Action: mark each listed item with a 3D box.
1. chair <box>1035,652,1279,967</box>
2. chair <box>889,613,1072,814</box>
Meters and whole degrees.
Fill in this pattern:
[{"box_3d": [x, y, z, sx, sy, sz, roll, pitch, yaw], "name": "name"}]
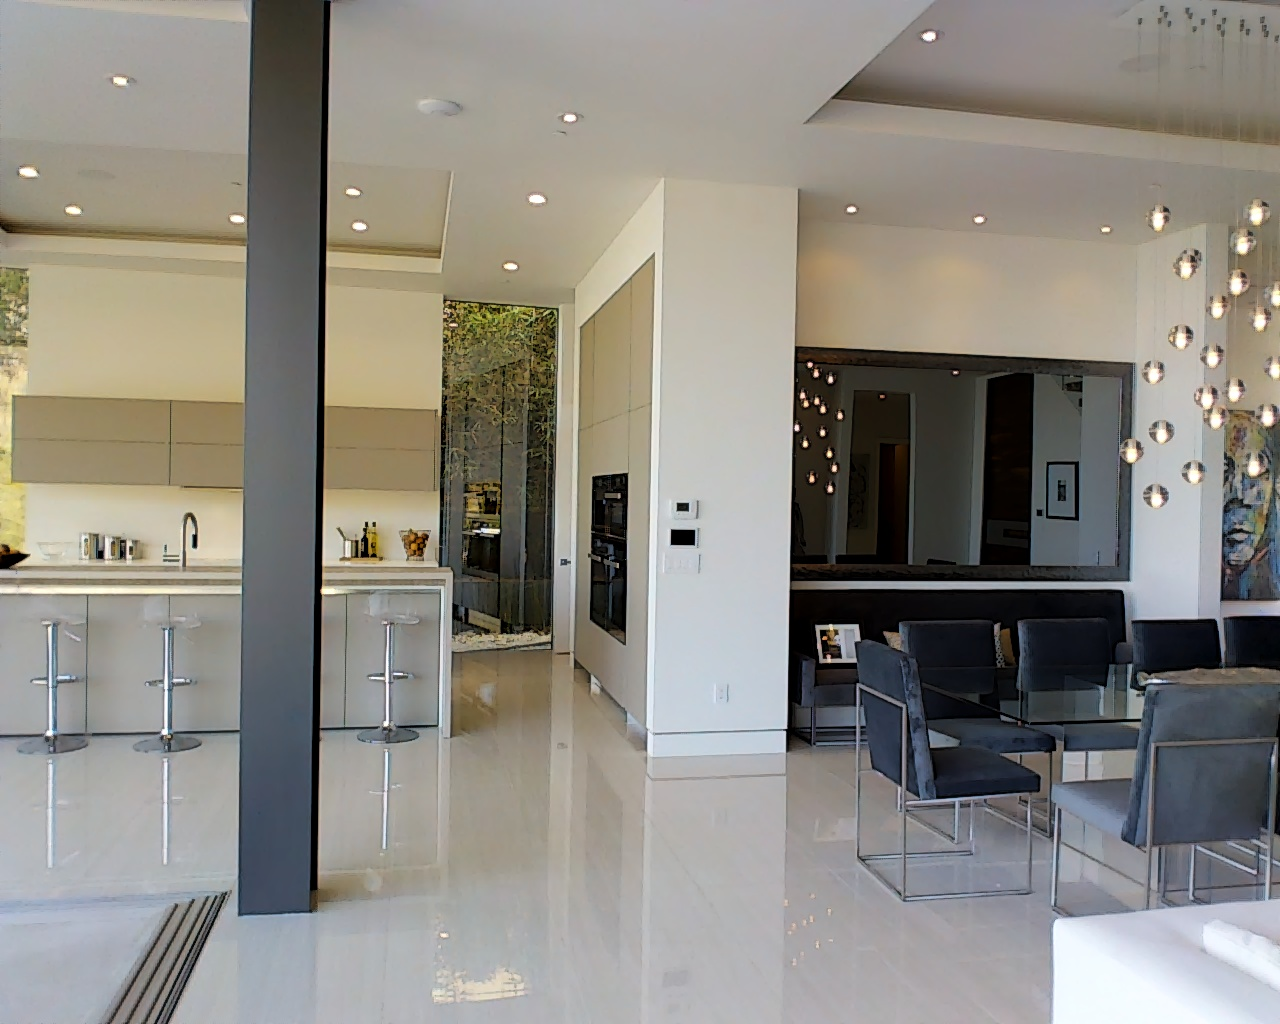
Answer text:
[{"box_3d": [1.910, 1.030, 3.930, 0.610, 0.940, 0.650, 1, 1, -12], "name": "chair"}, {"box_3d": [1.630, 0.940, 5.220, 0.590, 0.830, 0.650, 1, 0, -12], "name": "chair"}]
